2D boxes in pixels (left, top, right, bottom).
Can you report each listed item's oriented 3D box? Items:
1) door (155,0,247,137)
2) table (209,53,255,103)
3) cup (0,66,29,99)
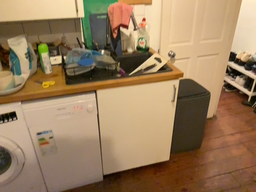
[{"bbox_3d":[0.700,-0.510,2.030,0.800,2.050,0.080,-10,31,-17],"label":"door"},{"bbox_3d":[1.620,-0.300,3.110,0.340,0.390,0.840,-9,31,-14],"label":"table"},{"bbox_3d":[-0.730,-0.080,1.270,0.220,0.100,0.210,-10,31,-16],"label":"cup"}]
